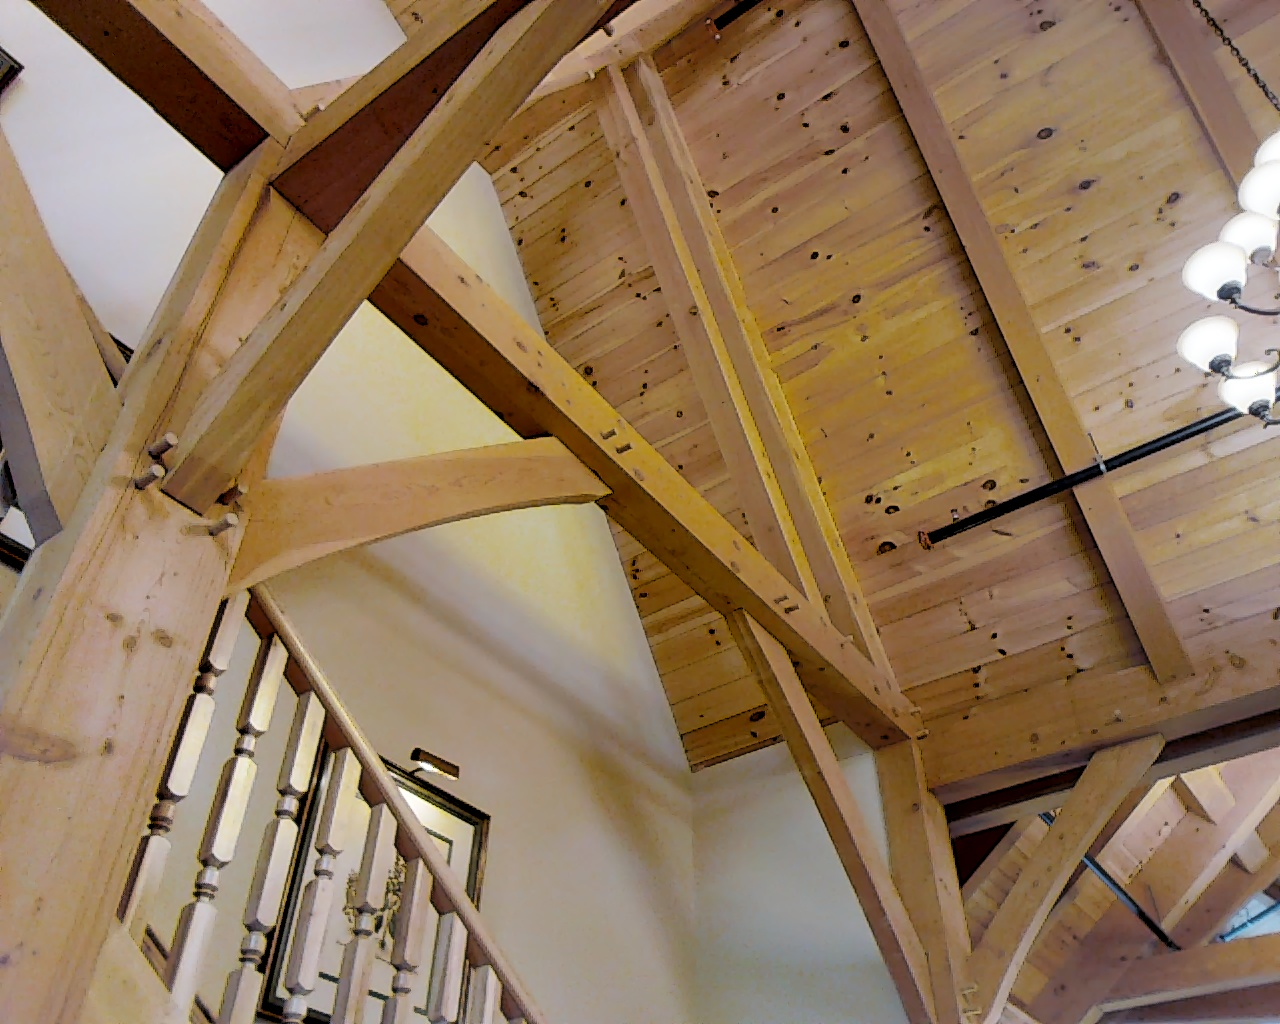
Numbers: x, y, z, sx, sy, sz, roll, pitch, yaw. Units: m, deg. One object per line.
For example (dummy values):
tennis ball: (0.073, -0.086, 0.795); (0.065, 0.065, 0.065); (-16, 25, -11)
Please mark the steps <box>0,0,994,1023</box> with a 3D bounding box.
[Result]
steps: (-0.800, 1.421, 2.560); (1.500, 4.401, 5.590); (-26, -48, 26)
